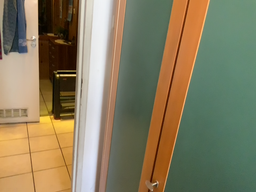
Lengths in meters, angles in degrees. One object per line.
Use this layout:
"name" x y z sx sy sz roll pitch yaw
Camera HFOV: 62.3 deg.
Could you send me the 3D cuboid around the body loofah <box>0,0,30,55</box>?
"body loofah" -1.150 -0.890 2.150 0.250 0.900 0.180 -5 24 -31
